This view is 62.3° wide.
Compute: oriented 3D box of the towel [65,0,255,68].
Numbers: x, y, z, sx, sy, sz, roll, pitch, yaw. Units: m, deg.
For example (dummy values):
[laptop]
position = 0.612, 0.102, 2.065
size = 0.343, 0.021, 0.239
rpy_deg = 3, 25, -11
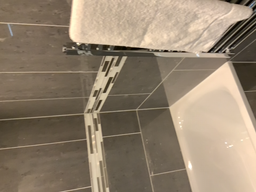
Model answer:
[towel]
position = 0.100, -0.210, 0.680
size = 0.340, 0.560, 0.100
rpy_deg = 136, 128, -64

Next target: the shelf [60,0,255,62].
[shelf]
position = 0.150, -0.240, 0.730
size = 0.370, 0.720, 0.070
rpy_deg = 133, 131, -63
